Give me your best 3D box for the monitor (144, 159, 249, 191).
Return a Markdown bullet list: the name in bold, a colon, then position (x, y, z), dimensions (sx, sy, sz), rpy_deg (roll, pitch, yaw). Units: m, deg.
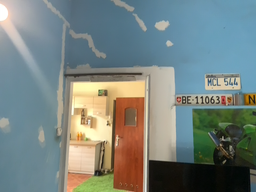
- **monitor**: position (0.500, 0.750, 1.620), dimensions (0.750, 0.450, 0.060), rpy_deg (0, -6, 16)
